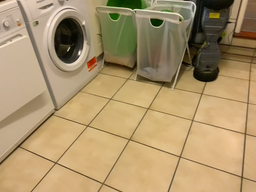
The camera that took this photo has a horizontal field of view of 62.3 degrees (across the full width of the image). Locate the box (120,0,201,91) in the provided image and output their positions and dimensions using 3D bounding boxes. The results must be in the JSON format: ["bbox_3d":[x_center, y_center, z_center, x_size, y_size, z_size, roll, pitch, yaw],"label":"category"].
[{"bbox_3d":[0.300,-0.520,1.870,0.470,0.630,0.600,15,42,22],"label":"box"}]

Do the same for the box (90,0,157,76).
[{"bbox_3d":[0.000,-0.640,2.100,0.370,0.580,0.620,15,42,22],"label":"box"}]
